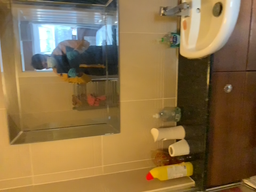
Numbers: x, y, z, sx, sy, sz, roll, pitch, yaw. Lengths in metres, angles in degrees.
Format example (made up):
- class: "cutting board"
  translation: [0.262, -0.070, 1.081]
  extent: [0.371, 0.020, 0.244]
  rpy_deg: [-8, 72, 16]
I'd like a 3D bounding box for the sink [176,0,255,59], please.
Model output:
- class: "sink"
  translation: [0.420, -0.440, 1.080]
  extent: [0.400, 0.150, 0.490]
  rpy_deg: [-149, 57, -71]
